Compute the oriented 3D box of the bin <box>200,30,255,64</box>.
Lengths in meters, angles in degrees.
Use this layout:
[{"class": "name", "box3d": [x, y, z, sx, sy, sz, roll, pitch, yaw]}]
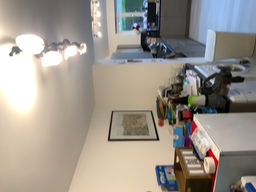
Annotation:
[{"class": "bin", "box3d": [1.440, -0.710, 3.060, 0.340, 0.650, 0.430, -92, 1, -68]}]
